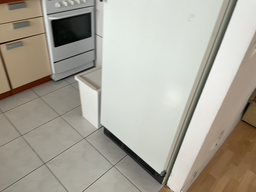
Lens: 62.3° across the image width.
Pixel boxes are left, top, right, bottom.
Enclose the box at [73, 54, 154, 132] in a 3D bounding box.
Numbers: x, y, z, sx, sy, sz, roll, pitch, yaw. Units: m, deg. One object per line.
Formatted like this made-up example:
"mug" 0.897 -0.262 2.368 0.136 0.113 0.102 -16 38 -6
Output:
"box" -0.120 -0.050 1.870 0.630 0.420 0.280 -26 49 -35
